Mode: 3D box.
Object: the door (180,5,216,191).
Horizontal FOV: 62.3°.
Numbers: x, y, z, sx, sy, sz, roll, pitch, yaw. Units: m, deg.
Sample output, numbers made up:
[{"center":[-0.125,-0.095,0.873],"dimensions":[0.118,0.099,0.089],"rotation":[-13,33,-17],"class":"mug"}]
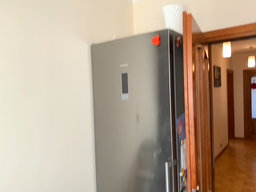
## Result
[{"center":[0.520,0.560,1.450],"dimensions":[0.120,2.010,0.890],"rotation":[-1,2,24],"class":"door"}]
